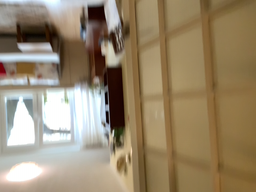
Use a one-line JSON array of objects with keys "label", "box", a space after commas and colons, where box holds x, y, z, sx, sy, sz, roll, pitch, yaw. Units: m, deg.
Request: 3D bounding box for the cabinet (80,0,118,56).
[{"label": "cabinet", "box": [-0.470, -1.010, 3.050, 0.350, 0.570, 1.350, -3, 178, -15]}]

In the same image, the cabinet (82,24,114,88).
[{"label": "cabinet", "box": [-0.680, -0.740, 4.460, 0.440, 1.000, 1.490, -3, 178, -15]}]
